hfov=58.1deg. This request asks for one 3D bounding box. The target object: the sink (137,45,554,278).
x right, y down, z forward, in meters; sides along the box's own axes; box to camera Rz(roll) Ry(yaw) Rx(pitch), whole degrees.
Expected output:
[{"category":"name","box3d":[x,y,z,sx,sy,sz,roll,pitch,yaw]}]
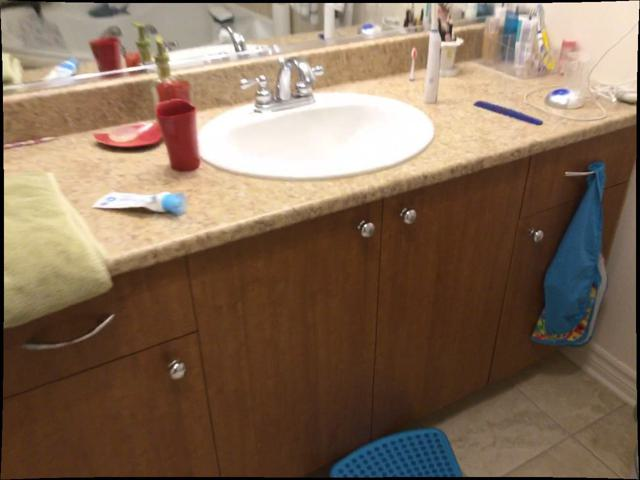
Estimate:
[{"category":"sink","box3d":[0.060,-0.240,1.330,0.790,0.200,0.480,-19,37,-27]}]

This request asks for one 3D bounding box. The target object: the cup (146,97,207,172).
[{"category":"cup","box3d":[-0.270,-0.200,1.090,0.080,0.110,0.070,-19,37,-27]}]

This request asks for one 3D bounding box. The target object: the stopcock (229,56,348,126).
[{"category":"stopcock","box3d":[-0.070,-0.350,1.340,0.250,0.090,0.110,-19,37,-27]}]
